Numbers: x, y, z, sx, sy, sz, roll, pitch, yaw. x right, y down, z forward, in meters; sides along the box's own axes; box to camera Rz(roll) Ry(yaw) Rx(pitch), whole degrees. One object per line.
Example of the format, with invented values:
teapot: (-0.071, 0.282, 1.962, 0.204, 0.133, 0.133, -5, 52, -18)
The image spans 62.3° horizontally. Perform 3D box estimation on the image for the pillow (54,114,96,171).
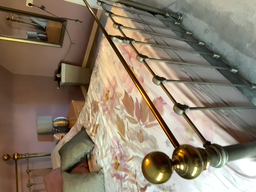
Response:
pillow: (-0.550, 0.450, 2.140, 0.420, 0.260, 0.350, 58, 135, 43)

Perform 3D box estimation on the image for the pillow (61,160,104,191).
pillow: (-0.380, 0.800, 1.820, 0.170, 0.360, 0.380, -16, 52, 21)

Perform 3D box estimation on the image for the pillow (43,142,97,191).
pillow: (-0.590, 0.850, 2.050, 0.530, 0.300, 0.560, 52, 130, 47)

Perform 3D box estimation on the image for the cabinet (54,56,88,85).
cabinet: (-1.070, -0.460, 3.990, 0.250, 0.570, 0.430, -22, 69, 56)
